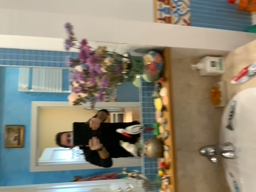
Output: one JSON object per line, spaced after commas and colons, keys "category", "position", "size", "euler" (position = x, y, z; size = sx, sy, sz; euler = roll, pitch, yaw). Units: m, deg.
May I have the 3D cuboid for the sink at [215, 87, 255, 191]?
{"category": "sink", "position": [0.560, 0.230, 0.870], "size": [0.390, 0.140, 0.520], "euler": [151, 119, -74]}
